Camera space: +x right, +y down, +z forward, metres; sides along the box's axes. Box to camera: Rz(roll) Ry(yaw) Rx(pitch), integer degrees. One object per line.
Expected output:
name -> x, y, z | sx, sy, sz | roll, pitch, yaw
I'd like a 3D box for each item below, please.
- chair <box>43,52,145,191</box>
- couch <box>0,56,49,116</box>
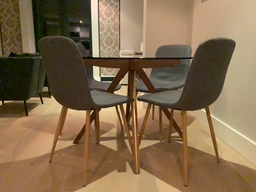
chair -> -0.210, 0.120, 1.430 | 0.520, 0.810, 0.370 | -10, 16, -43
couch -> -1.530, -0.170, 2.830 | 0.750, 0.700, 0.680 | -2, 12, -11
